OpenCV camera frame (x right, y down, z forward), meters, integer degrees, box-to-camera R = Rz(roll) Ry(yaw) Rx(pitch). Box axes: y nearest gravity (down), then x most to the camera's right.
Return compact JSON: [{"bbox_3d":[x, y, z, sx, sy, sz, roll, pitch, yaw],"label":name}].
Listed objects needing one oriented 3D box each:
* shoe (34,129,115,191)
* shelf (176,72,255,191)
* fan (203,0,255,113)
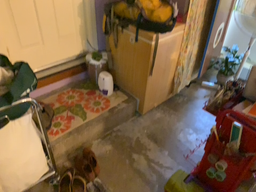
[{"bbox_3d":[-0.430,0.540,1.670,0.390,0.080,0.560,-27,46,-32],"label":"shoe"},{"bbox_3d":[0.680,0.310,1.450,0.440,0.760,0.380,-28,47,-33],"label":"shelf"},{"bbox_3d":[1.230,-0.500,2.110,0.530,1.240,0.350,29,45,30],"label":"fan"}]
